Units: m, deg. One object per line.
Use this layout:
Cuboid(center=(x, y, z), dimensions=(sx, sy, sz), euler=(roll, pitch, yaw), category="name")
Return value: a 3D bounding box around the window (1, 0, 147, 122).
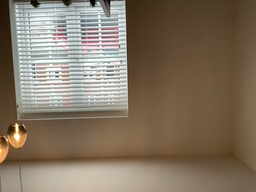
Cuboid(center=(-0.570, -0.420, 2.370), dimensions=(1.530, 1.380, 0.110), euler=(-1, -173, 1), category="window")
